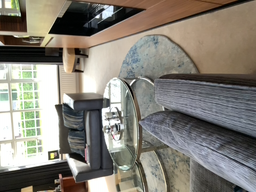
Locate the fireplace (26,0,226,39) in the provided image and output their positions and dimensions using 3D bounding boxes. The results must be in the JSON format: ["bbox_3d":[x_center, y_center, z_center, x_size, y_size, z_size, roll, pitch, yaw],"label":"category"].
[{"bbox_3d":[-0.310,-0.920,1.970,1.980,1.150,0.510,-162,70,-64],"label":"fireplace"}]

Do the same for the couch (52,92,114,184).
[{"bbox_3d":[-0.830,0.610,3.720,1.120,0.790,1.240,-167,75,-64],"label":"couch"}]

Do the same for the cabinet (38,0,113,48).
[{"bbox_3d":[-0.970,-1.160,3.590,1.550,0.940,0.550,-162,70,-64],"label":"cabinet"}]
